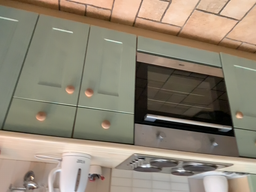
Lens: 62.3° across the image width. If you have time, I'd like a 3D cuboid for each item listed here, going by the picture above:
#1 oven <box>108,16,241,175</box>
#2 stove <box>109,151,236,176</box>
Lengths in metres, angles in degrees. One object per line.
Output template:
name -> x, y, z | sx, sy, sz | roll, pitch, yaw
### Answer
oven -> 0.250, 0.040, 1.530 | 0.610, 0.890, 0.600 | 10, 152, -12
stove -> 0.230, 0.440, 1.330 | 0.610, 0.010, 0.530 | 10, 152, -12
